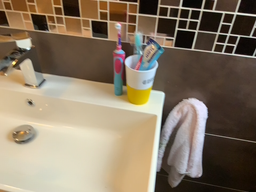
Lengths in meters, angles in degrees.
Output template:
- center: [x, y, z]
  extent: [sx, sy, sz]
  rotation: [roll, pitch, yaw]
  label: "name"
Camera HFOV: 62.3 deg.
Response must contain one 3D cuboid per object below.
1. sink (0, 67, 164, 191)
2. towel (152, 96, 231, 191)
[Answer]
- center: [-0.320, 0.090, 0.590]
  extent: [0.800, 0.120, 0.380]
  rotation: [9, 39, 7]
  label: "sink"
- center: [0.190, 0.210, 0.730]
  extent: [0.160, 0.420, 0.110]
  rotation: [11, 39, 9]
  label: "towel"
